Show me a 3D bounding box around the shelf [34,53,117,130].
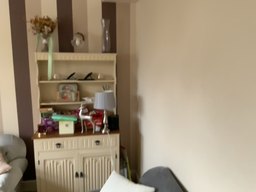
[{"bbox_3d":[-0.610,-0.070,2.620,0.930,0.900,0.190,-2,9,-10],"label":"shelf"}]
